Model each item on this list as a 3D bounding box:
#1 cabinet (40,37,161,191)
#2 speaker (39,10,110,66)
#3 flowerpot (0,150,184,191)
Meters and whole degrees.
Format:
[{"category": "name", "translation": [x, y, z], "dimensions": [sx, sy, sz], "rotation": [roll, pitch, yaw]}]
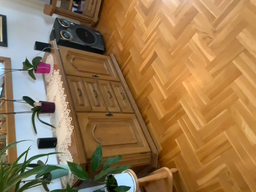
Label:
[{"category": "cabinet", "translation": [-0.370, 0.110, 2.250], "dimensions": [0.440, 0.800, 1.470], "rotation": [-51, 50, 37]}, {"category": "speaker", "translation": [-0.740, -0.770, 2.940], "dimensions": [0.390, 0.790, 0.460], "rotation": [-50, 50, 37]}, {"category": "flowerpot", "translation": [-0.230, 0.810, 1.620], "dimensions": [0.550, 1.280, 0.460], "rotation": [-48, 51, 38]}]
